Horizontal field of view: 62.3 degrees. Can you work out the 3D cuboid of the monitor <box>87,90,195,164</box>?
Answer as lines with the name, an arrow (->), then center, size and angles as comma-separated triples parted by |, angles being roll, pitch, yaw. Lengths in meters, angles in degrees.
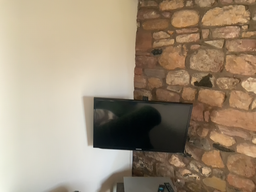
monitor -> 0.090, 0.250, 1.670 | 0.750, 0.450, 0.090 | 11, 13, -3
